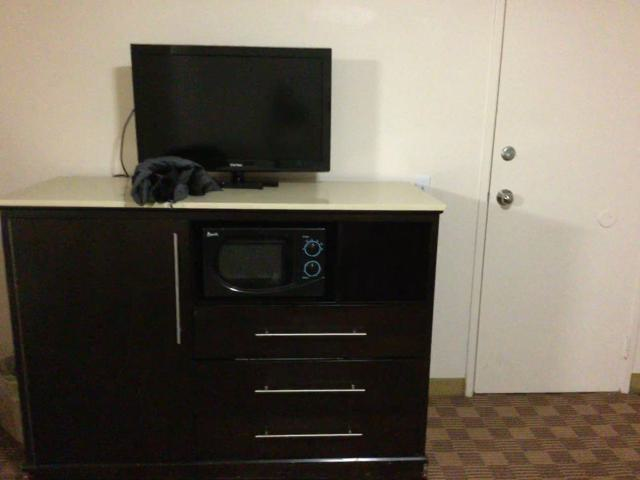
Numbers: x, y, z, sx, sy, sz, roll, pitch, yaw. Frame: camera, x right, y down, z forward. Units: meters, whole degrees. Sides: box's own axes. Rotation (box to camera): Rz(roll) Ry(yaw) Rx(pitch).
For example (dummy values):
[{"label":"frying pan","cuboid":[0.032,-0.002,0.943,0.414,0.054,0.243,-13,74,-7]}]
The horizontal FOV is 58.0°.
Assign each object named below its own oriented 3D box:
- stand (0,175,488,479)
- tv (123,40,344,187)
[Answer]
[{"label":"stand","cuboid":[-0.270,0.350,2.340,1.680,1.100,0.630,-3,12,-4]},{"label":"tv","cuboid":[-0.330,-0.510,2.360,0.800,0.480,0.220,-6,12,-1]}]
